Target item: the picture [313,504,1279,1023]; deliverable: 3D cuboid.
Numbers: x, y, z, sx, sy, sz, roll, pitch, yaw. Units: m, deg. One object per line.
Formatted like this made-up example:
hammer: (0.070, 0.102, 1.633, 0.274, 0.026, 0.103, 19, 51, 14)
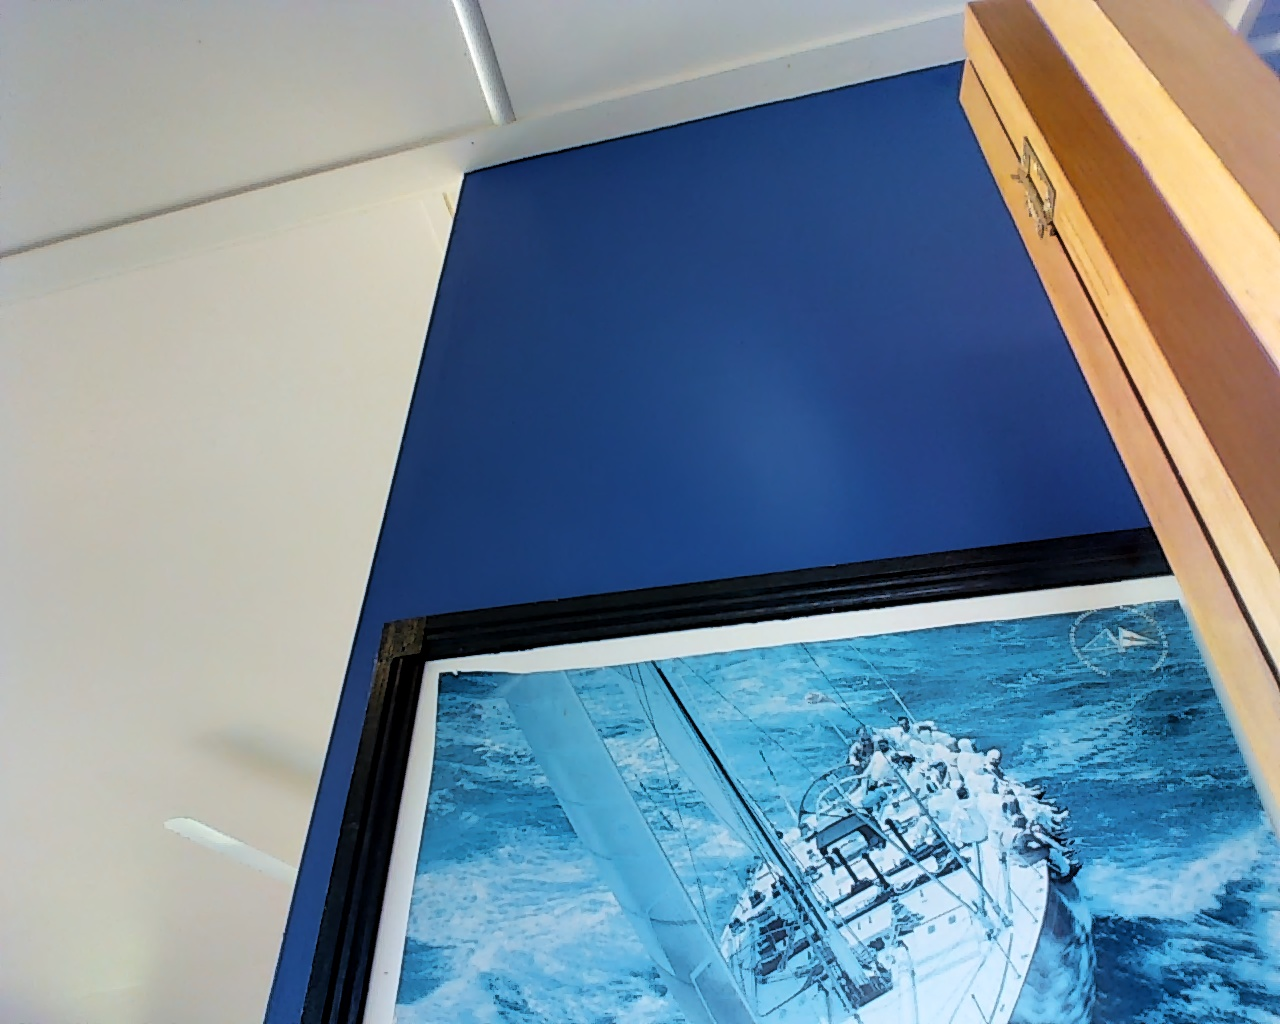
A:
picture: (0.110, 0.280, 0.690, 0.660, 0.620, 0.040, -9, -45, 10)
